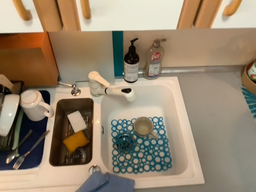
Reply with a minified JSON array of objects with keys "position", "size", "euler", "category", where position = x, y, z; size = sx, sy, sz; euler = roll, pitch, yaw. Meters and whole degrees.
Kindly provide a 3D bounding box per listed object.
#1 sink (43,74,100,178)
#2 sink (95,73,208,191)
[{"position":[-0.240,0.130,1.000],"size":[0.200,0.180,0.440],"euler":[-2,57,-4],"category":"sink"},{"position":[0.070,0.160,1.000],"size":[0.420,0.190,0.520],"euler":[-2,57,-4],"category":"sink"}]
